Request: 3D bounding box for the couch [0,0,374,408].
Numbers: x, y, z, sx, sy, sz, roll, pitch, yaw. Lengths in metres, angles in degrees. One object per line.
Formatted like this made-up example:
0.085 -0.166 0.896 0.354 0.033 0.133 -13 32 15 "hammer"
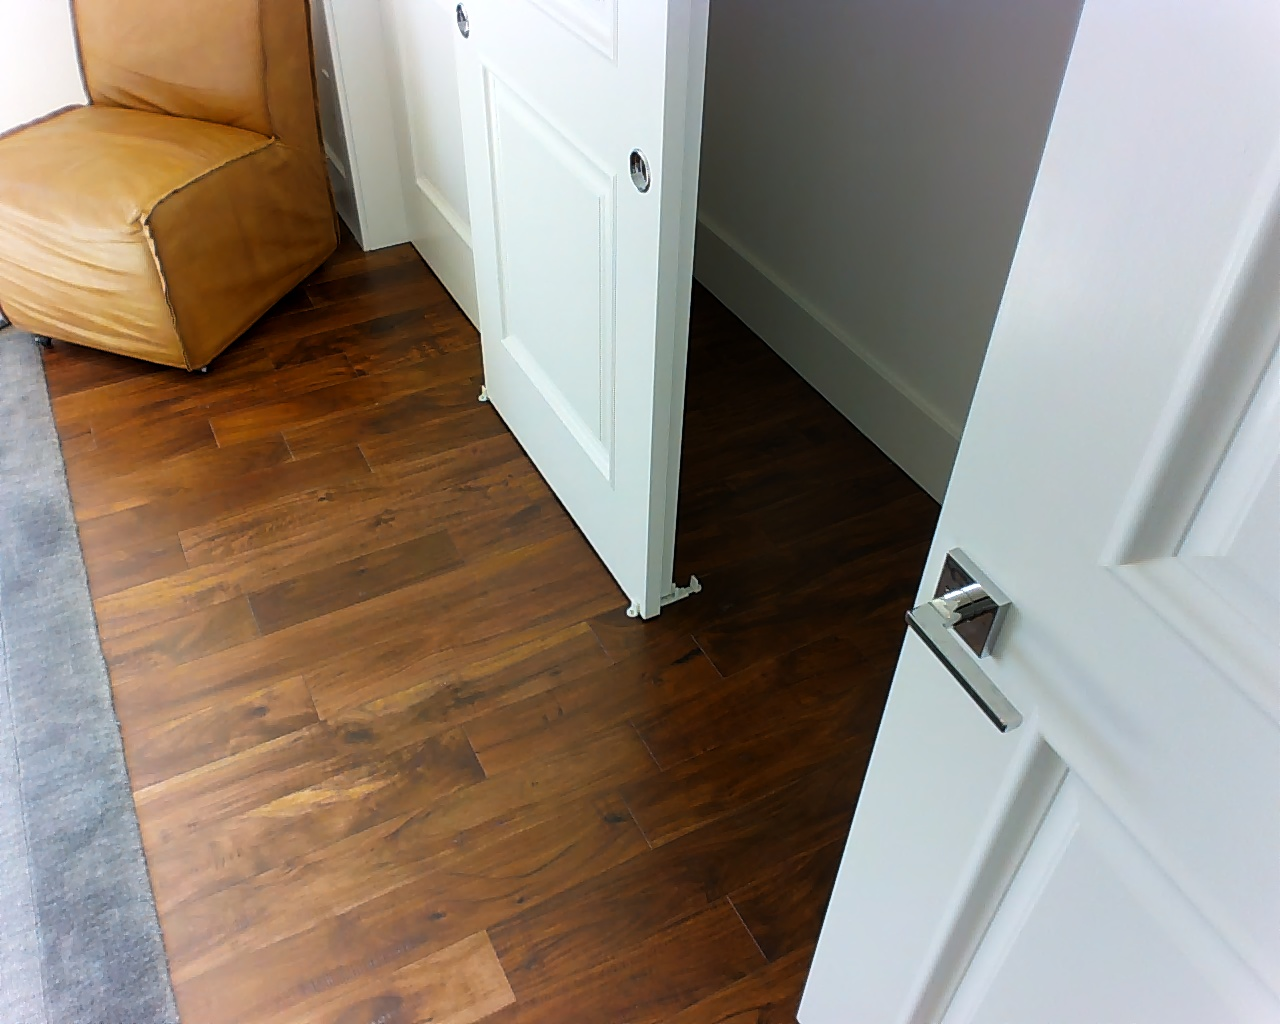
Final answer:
-1.200 -0.870 2.650 0.660 0.810 0.780 14 43 13 "couch"
